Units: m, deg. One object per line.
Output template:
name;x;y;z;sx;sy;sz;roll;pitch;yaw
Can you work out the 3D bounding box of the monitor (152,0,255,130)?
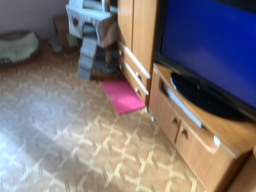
monitor;0.440;-0.230;1.100;0.060;0.510;0.790;-26;48;-28
